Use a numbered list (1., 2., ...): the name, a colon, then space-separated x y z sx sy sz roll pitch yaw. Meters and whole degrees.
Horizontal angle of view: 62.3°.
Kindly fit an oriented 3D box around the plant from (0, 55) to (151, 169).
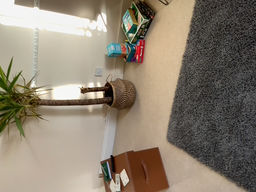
1. plant: -0.520 0.080 1.810 0.490 1.320 0.700 25 111 52

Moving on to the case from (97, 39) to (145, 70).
1. case: -0.080 -0.410 2.100 0.330 0.320 0.220 30 115 51

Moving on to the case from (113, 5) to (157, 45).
1. case: 0.050 -0.670 2.020 0.410 0.160 0.310 28 113 52

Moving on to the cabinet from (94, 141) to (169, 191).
1. cabinet: 0.000 0.690 1.920 0.560 0.360 0.400 -36 62 50
